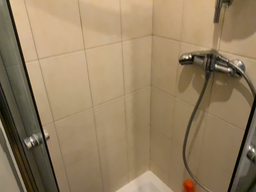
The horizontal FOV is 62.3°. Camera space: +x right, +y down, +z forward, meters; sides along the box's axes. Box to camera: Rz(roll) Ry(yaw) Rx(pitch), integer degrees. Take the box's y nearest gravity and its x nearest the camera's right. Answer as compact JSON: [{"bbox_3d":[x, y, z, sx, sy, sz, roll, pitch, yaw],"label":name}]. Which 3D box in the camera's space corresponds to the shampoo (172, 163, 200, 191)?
[{"bbox_3d":[0.350,0.580,1.320,0.060,0.310,0.130,-24,36,-35],"label":"shampoo"}]
